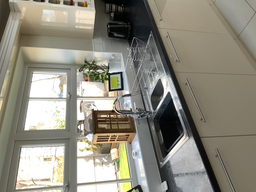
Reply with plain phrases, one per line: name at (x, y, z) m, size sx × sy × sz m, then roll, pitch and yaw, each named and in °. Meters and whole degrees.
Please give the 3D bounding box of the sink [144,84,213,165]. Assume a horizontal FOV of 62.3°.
sink at (0.330, 0.220, 1.570) m, size 0.480 × 0.230 × 0.390 m, roll 109°, pitch 156°, yaw -50°

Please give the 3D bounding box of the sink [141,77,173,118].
sink at (0.230, 0.020, 1.790) m, size 0.290 × 0.140 × 0.210 m, roll 109°, pitch 156°, yaw -50°
